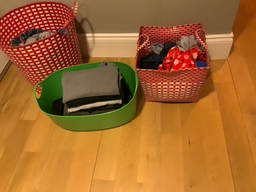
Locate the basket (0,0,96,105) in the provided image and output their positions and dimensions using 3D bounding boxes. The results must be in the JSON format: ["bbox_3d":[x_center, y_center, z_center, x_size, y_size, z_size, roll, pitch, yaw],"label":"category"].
[{"bbox_3d":[-0.520,-0.290,1.390,0.490,0.430,0.500,-5,52,4],"label":"basket"}]

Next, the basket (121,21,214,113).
[{"bbox_3d":[0.230,-0.180,1.270,0.440,0.310,0.440,3,53,10],"label":"basket"}]
